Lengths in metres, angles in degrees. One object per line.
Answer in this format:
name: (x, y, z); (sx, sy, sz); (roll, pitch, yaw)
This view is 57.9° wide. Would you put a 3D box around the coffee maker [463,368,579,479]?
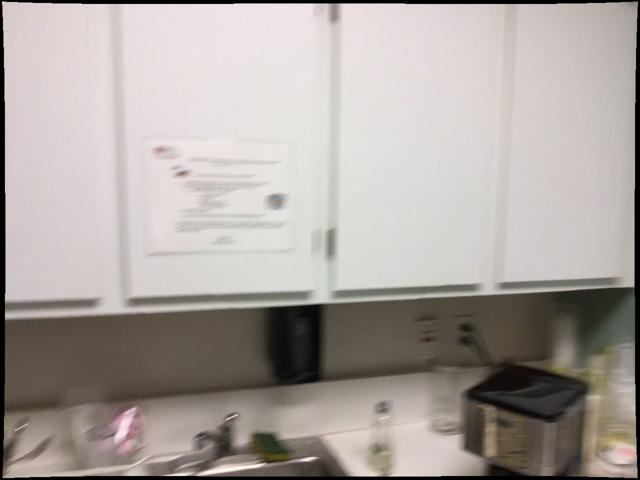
coffee maker: (0.380, 0.440, 1.110); (0.160, 0.330, 0.130); (8, 11, 41)
